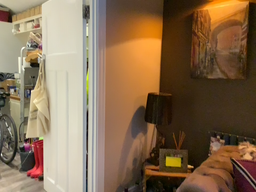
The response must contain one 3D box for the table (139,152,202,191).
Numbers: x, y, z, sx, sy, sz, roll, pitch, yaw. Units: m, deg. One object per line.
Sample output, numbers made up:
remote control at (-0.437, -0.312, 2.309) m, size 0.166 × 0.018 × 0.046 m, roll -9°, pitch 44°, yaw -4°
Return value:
table at (0.360, 0.860, 1.990) m, size 0.480 × 0.500 × 0.430 m, roll 2°, pitch 8°, yaw 0°
